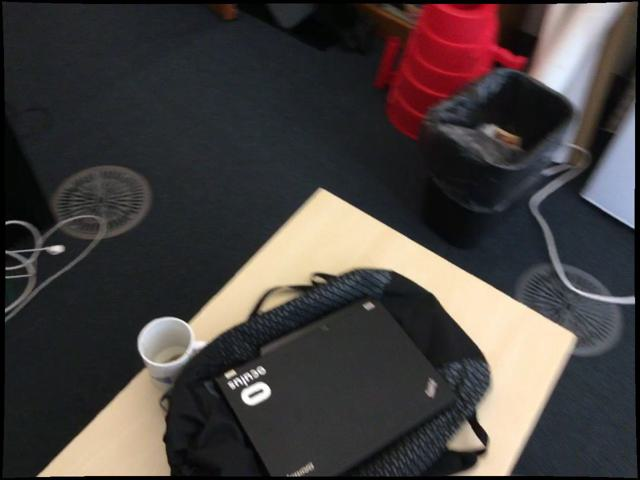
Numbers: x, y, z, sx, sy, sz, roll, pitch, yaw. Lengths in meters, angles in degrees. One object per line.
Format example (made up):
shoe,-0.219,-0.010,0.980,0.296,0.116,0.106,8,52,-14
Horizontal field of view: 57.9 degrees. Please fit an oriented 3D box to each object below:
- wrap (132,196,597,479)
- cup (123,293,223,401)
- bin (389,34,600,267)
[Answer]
wrap,0.060,0.210,0.900,0.560,0.140,0.390,-24,60,-19
cup,-0.230,0.170,0.920,0.100,0.100,0.100,35,60,19
bin,0.470,-0.250,1.620,0.300,0.390,0.430,35,60,19
